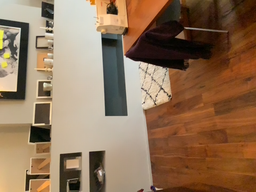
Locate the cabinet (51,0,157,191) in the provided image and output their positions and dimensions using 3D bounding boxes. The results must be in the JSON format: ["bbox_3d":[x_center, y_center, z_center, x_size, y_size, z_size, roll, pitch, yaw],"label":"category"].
[{"bbox_3d":[-0.450,-0.650,3.560,0.320,1.470,4.740,144,125,-64],"label":"cabinet"}]

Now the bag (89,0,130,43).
[{"bbox_3d":[-0.210,-0.820,2.270,0.350,0.340,0.340,150,120,-65],"label":"bag"}]
